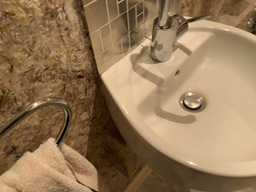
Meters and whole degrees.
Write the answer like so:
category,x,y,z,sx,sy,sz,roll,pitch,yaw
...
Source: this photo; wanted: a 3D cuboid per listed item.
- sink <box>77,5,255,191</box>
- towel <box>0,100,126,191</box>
category,x,y,z,sx,sy,sz,roll,pitch,yaw
sink,0.180,0.000,0.490,0.380,0.150,0.410,33,60,27
towel,-0.130,0.290,0.540,0.130,0.570,0.230,34,60,28
